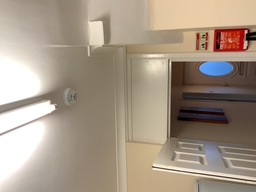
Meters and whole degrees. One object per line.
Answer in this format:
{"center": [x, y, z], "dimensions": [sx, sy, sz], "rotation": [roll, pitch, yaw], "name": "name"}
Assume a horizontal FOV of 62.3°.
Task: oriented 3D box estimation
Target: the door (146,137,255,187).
{"center": [1.170, 0.450, 1.310], "dimensions": [0.700, 2.010, 0.050], "rotation": [-8, -80, -73], "name": "door"}
